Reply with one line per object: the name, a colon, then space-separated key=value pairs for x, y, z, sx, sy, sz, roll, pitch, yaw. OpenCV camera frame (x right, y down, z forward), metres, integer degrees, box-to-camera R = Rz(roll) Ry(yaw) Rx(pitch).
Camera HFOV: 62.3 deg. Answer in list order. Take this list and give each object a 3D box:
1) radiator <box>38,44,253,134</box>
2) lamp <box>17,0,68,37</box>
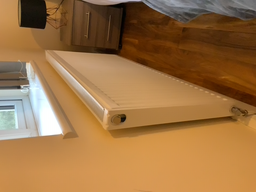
radiator: x=-0.090 y=-0.160 z=1.270 sx=1.310 sy=0.670 sz=0.100 roll=33 pitch=120 yaw=55
lamp: x=-0.780 y=-0.700 z=1.910 sx=0.300 sy=0.380 sz=0.250 roll=37 pitch=123 yaw=54
